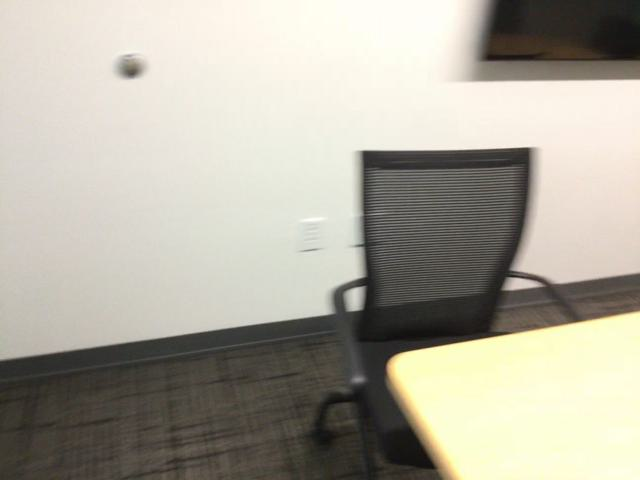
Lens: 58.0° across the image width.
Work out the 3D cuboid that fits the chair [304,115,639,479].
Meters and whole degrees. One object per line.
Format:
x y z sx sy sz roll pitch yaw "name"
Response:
0.320 0.290 1.340 0.580 0.960 0.720 -5 28 -12 "chair"
